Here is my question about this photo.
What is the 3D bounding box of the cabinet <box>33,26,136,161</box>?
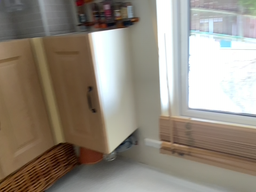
[{"bbox_3d":[-0.190,-0.030,1.100,0.310,0.590,0.300,5,-157,28],"label":"cabinet"}]
